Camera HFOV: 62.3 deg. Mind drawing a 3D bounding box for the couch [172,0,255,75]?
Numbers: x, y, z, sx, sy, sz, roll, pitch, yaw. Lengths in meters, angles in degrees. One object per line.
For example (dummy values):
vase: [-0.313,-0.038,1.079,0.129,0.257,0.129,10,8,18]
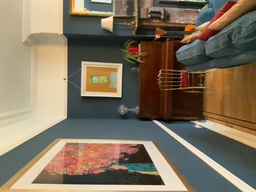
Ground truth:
couch: [1.030,-0.710,1.820,1.580,0.830,0.990,-138,50,-84]
